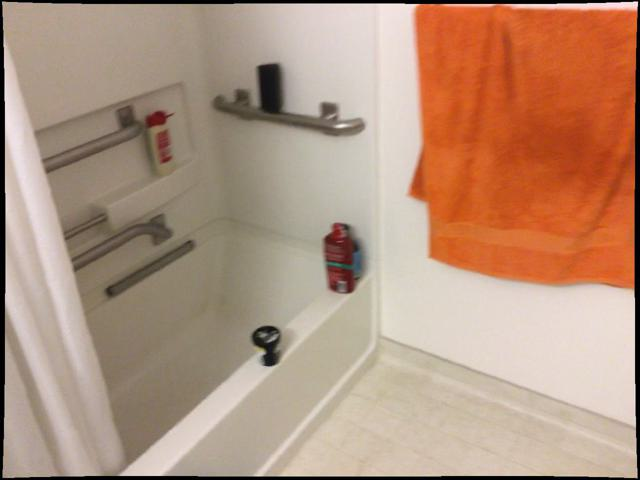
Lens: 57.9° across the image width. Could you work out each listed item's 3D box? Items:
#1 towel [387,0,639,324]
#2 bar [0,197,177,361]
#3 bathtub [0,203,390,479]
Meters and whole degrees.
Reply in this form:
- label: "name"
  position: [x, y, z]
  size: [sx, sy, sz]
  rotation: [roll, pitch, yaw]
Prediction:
- label: "towel"
  position: [0.509, -0.210, 1.460]
  size: [0.700, 0.701, 0.130]
  rotation: [17, 36, 30]
- label: "bar"
  position: [-0.759, 0.110, 1.700]
  size: [0.150, 0.160, 0.740]
  rotation: [17, 36, 30]
- label: "bathtub"
  position: [-0.480, 0.470, 1.680]
  size: [0.750, 0.440, 1.470]
  rotation: [17, 36, 30]
